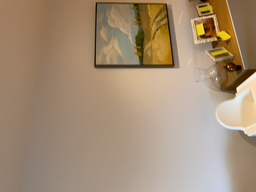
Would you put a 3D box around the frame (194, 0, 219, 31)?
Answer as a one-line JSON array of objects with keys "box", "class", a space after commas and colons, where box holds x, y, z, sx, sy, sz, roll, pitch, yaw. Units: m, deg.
[{"box": [0.810, -0.880, 2.210, 0.230, 0.120, 0.320, 97, 171, -67], "class": "frame"}]
